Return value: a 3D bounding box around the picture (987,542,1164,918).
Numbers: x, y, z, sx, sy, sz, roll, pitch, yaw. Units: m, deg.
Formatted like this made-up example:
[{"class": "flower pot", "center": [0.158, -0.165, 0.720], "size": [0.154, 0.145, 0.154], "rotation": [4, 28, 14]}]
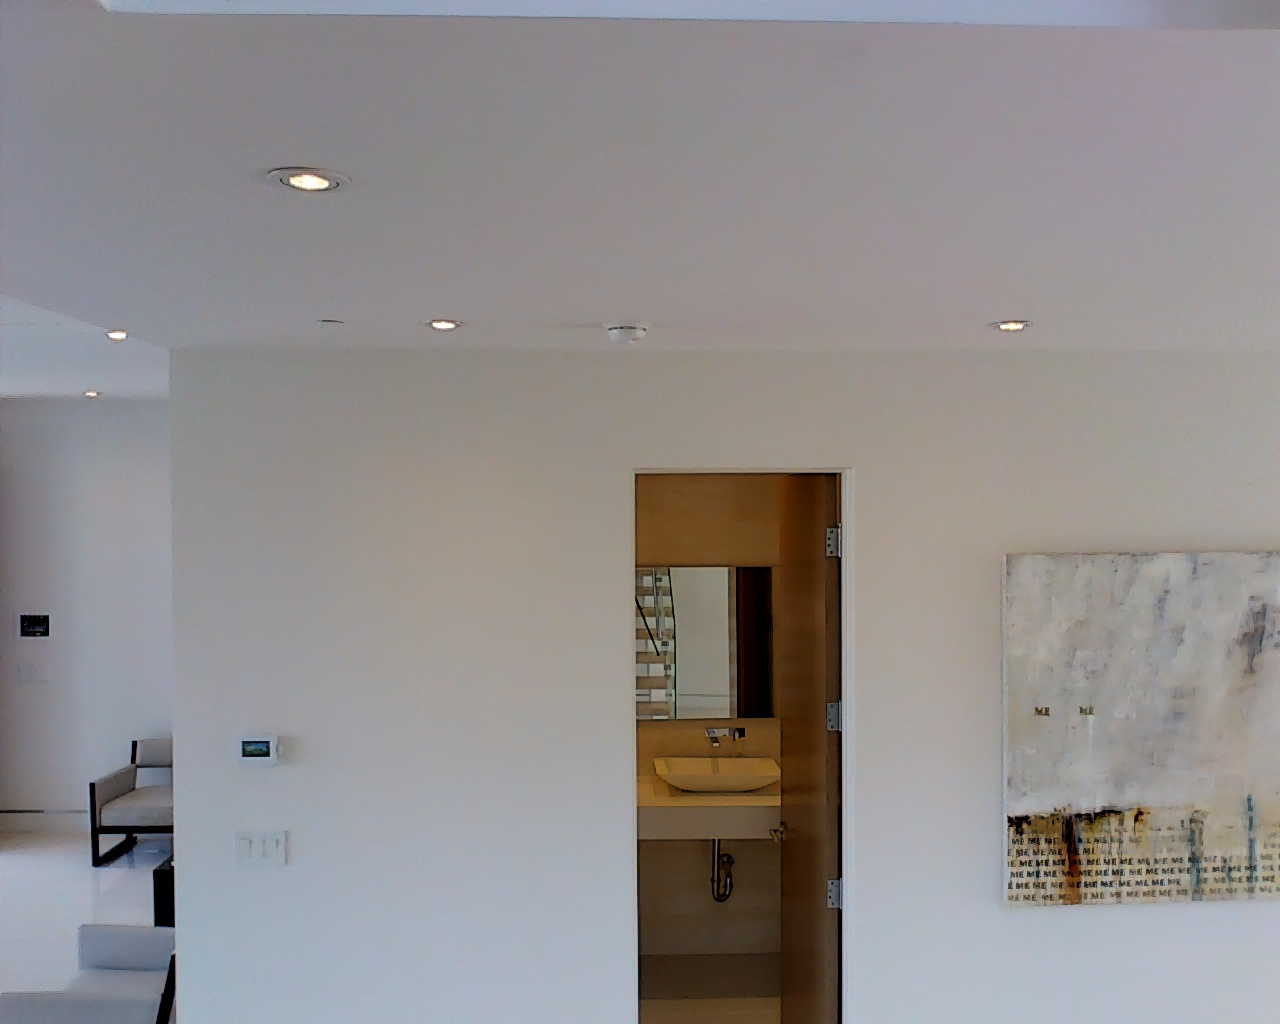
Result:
[{"class": "picture", "center": [1.529, 0.760, 3.780], "size": [0.600, 1.311, 0.050], "rotation": [0, 1, -2]}]
